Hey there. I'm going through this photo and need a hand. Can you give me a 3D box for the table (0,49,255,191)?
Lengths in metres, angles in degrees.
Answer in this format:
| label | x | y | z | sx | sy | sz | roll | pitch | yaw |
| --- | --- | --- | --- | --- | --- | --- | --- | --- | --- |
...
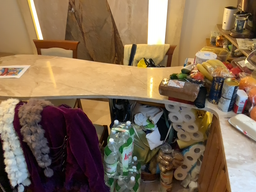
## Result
| label | x | y | z | sx | sy | sz | roll | pitch | yaw |
| --- | --- | --- | --- | --- | --- | --- | --- | --- | --- |
| table | -0.140 | 0.210 | 1.820 | 2.390 | 0.870 | 0.660 | 6 | 36 | 11 |
